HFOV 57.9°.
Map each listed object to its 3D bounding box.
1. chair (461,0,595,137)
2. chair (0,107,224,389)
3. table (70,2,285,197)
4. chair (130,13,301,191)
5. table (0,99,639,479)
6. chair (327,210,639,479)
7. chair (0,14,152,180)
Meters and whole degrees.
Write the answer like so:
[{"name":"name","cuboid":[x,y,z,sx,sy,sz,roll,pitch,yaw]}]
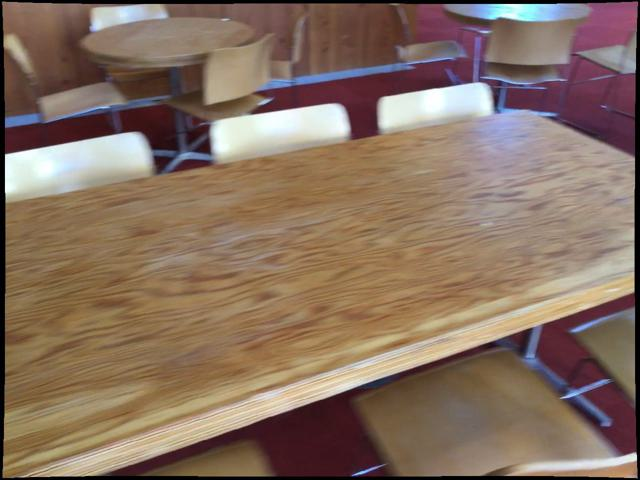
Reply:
[{"name":"chair","cuboid":[1.219,-1.071,3.510,0.609,0.680,0.520,7,33,12]},{"name":"chair","cuboid":[-0.679,-0.030,1.620,0.620,0.400,0.670,-13,35,-19]},{"name":"table","cuboid":[-0.809,-0.851,3.280,0.929,0.711,0.930,-13,35,-19]},{"name":"chair","cuboid":[-0.519,-0.751,3.040,0.580,0.680,0.580,24,40,33]},{"name":"table","cuboid":[0.050,0.240,1.600,1.869,0.741,0.920,-13,35,-19]},{"name":"chair","cuboid":[0.350,0.430,1.210,0.480,0.721,0.580,-13,35,-19]},{"name":"chair","cuboid":[-1.309,-0.781,3.080,0.629,0.660,0.510,-13,35,-19]}]
